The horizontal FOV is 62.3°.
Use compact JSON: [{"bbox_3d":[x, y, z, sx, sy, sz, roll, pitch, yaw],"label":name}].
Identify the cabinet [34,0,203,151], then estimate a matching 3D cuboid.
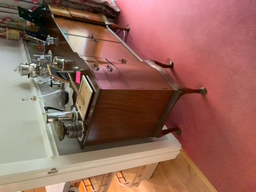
[{"bbox_3d":[-0.270,-0.360,2.020,1.700,0.850,0.530,53,130,42],"label":"cabinet"}]
